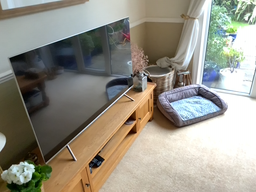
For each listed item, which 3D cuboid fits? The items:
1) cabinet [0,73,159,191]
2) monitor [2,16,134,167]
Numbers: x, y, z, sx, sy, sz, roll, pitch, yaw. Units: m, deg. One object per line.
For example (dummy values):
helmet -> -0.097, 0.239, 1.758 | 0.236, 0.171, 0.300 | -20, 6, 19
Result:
cabinet -> -0.270, 0.380, 2.010 | 0.480, 0.500, 1.800 | 13, 33, 25
monitor -> -0.280, -0.150, 1.690 | 0.090, 0.730, 1.250 | 12, 33, 25
